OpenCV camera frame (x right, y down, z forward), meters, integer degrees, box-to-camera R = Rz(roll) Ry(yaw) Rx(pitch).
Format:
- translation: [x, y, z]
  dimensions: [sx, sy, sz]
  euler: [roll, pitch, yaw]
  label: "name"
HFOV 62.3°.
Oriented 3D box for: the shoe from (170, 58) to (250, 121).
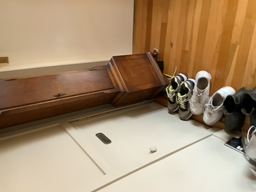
- translation: [0.450, -0.060, 1.250]
  dimensions: [0.420, 0.110, 0.260]
  euler: [24, 119, 49]
  label: "shoe"
